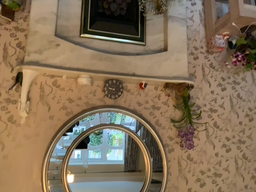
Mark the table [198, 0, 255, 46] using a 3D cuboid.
[{"bbox_3d":[0.970,-0.830,1.830,0.530,0.590,0.440,3,169,-14],"label":"table"}]
